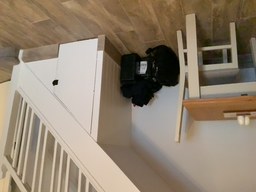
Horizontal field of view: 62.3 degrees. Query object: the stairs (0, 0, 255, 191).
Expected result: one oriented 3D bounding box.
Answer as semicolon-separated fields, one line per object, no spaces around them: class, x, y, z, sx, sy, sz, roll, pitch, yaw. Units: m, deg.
stairs;-0.060;0.630;2.150;2.780;2.440;0.940;-3;165;20
